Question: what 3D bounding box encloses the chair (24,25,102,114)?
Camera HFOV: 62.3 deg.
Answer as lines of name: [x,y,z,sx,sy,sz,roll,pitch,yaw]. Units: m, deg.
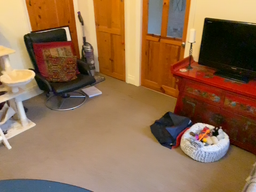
chair: [-0.840,-0.400,2.890,0.580,0.940,0.700,26,38,38]
